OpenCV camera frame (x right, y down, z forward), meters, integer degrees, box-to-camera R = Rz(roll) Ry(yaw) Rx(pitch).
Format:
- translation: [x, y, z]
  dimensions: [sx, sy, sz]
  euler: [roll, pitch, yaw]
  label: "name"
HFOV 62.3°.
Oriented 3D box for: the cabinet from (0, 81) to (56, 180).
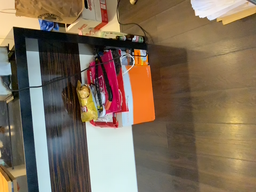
- translation: [-1.710, 0.460, 3.200]
  dimensions: [0.600, 0.930, 1.290]
  euler: [-5, 90, 50]
  label: "cabinet"
